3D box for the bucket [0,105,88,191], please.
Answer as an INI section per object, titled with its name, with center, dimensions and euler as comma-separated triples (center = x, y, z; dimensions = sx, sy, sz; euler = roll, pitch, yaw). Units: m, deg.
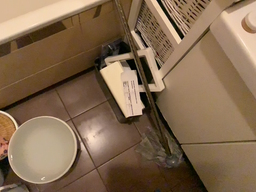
[bucket]
center = -0.390, 0.260, 1.020
dimensions = 0.260, 0.230, 0.310
euler = -30, 82, -13
